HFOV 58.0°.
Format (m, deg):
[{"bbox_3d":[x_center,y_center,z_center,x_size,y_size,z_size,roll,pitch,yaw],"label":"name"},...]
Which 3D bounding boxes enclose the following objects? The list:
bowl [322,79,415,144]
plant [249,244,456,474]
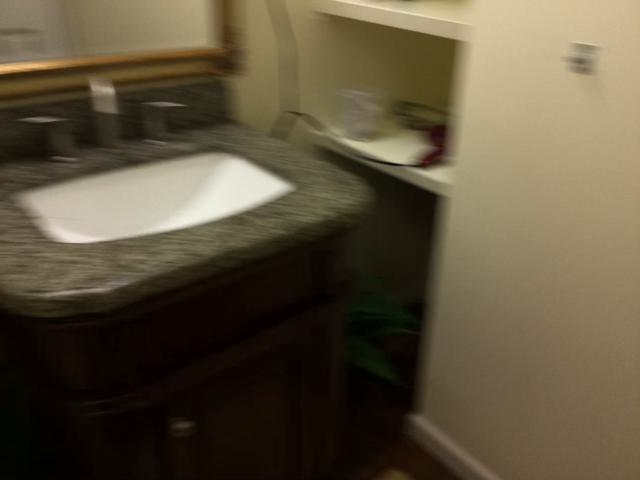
[{"bbox_3d":[0.140,-0.380,1.690,0.190,0.120,0.180,-21,36,-37],"label":"bowl"},{"bbox_3d":[0.080,0.330,1.770,0.390,0.400,0.460,-21,36,-37],"label":"plant"}]
